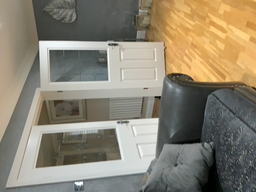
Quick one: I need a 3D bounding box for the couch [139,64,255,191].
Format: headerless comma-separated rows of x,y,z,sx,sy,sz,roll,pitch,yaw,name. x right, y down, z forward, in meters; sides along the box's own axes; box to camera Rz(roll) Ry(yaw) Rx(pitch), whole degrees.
0.780,0.800,0.910,2.680,0.770,1.090,-114,25,-62,couch
